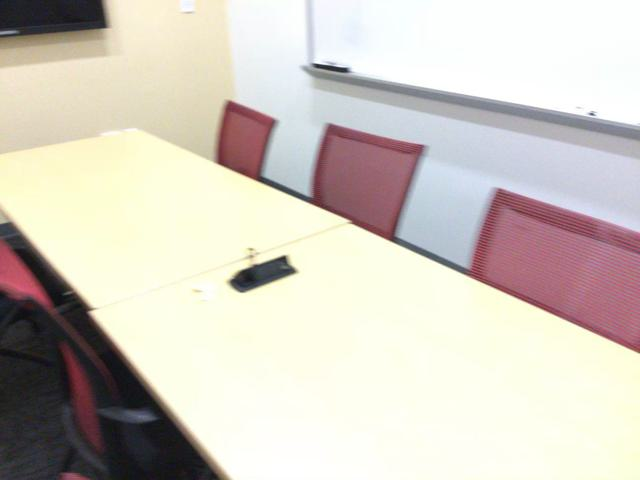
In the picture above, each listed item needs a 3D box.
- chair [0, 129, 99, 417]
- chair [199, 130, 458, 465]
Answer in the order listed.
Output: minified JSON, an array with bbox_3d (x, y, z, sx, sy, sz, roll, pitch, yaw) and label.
[{"bbox_3d":[-1.150,0.100,1.930,0.520,0.780,0.590,-16,27,-31],"label":"chair"},{"bbox_3d":[0.010,0.130,1.940,0.600,0.860,0.530,-15,27,-37],"label":"chair"}]
